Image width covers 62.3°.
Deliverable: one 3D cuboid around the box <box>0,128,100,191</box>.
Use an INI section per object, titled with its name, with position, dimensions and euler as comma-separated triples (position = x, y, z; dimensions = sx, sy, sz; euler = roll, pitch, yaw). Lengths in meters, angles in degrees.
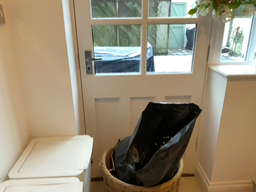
[box]
position = -0.370, 0.590, 1.030
dimensions = 0.390, 0.570, 0.720
euler = -1, 21, -3
